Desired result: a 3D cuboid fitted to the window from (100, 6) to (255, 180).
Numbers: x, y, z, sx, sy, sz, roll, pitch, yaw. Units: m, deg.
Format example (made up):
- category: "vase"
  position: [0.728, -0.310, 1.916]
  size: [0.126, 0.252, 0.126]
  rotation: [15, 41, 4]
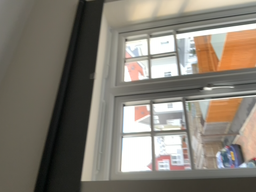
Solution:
- category: "window"
  position: [0.460, -0.080, 1.290]
  size: [0.200, 1.140, 1.060]
  rotation: [70, -162, -54]
